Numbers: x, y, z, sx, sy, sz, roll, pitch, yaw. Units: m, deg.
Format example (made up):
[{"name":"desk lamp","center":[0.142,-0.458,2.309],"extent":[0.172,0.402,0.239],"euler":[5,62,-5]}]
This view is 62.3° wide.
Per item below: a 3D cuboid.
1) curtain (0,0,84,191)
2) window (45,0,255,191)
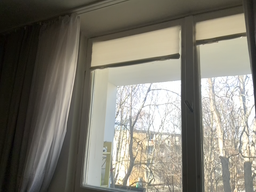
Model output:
[{"name":"curtain","center":[-0.750,0.080,1.490],"extent":[0.800,1.430,0.130],"euler":[-3,-14,25]},{"name":"window","center":[0.130,0.070,1.330],"extent":[1.300,1.240,0.230],"euler":[-3,-14,25]}]
